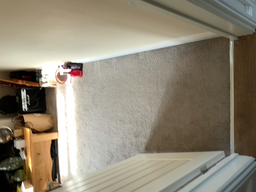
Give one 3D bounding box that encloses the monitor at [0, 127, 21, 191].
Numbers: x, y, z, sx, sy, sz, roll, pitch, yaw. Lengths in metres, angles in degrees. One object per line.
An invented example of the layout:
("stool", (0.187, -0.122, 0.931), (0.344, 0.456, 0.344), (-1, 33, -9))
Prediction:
("monitor", (-1.820, 0.990, 2.900), (0.060, 0.610, 1.030), (-1, 92, 44))
